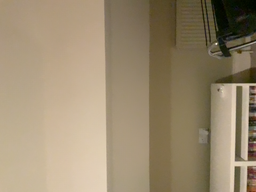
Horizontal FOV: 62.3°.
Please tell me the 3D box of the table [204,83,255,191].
[{"bbox_3d":[0.950,0.510,1.820,0.470,0.400,1.240,-107,17,-86],"label":"table"}]
